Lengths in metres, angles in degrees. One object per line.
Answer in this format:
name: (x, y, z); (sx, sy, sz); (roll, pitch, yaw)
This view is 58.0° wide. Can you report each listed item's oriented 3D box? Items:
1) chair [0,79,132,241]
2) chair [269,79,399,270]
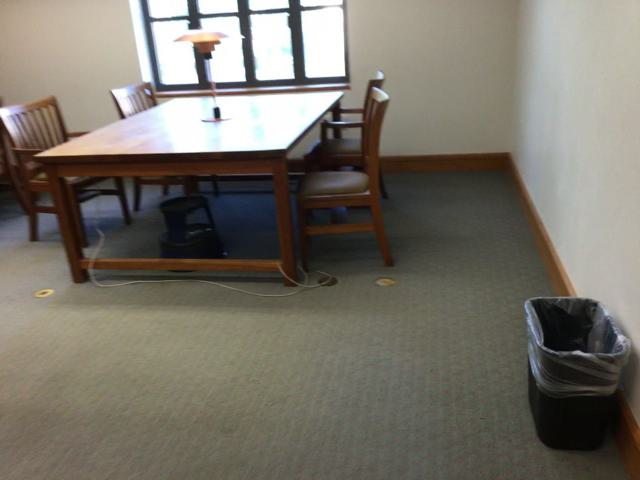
chair: (-1.770, -0.550, 3.850); (0.620, 0.910, 0.650); (1, 24, 9)
chair: (0.080, -0.390, 3.260); (0.630, 0.890, 0.640); (-3, 24, 0)
